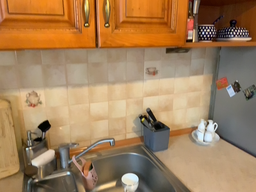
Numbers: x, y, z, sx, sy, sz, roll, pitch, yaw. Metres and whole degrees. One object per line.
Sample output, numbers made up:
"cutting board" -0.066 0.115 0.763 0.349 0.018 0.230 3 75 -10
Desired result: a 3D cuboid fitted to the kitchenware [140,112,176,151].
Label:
"kitchenware" 0.160 0.190 1.170 0.120 0.140 0.160 -7 18 -25
